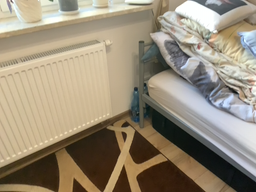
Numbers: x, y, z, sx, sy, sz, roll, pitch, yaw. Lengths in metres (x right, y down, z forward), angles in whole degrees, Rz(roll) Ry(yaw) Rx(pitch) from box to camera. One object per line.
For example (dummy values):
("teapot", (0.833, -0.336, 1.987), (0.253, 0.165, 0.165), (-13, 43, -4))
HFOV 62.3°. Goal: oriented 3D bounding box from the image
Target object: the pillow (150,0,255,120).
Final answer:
("pillow", (0.740, -0.360, 1.350), (0.780, 0.450, 0.910), (-21, 38, -27))
